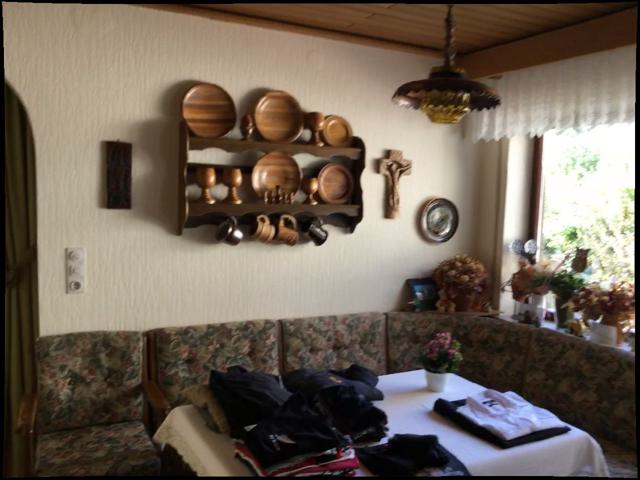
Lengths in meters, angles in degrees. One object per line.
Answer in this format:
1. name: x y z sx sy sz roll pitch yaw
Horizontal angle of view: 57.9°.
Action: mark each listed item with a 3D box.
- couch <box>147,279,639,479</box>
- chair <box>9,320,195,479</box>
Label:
1. couch: 0.529 0.841 2.730 2.338 0.921 1.540 -1 8 -27
2. chair: -0.949 0.861 2.480 0.649 0.841 0.650 -1 8 -27
